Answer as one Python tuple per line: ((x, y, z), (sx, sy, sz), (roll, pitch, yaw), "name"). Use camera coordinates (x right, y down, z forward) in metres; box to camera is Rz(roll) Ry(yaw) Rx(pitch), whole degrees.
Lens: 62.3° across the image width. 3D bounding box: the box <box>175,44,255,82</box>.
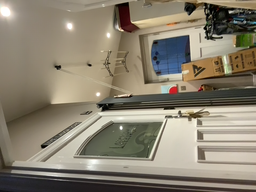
((1.570, -0.540, 3.620), (0.530, 1.430, 0.460), (0, -93, -72), "box")
